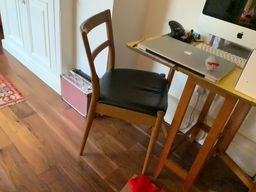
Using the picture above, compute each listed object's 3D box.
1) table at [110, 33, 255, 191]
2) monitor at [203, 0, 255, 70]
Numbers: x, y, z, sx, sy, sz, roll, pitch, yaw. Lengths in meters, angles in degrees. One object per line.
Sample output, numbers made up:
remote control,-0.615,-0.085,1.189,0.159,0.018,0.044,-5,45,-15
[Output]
table,0.450,0.170,1.220,0.860,0.720,0.600,33,39,29
monitor,0.610,-0.370,1.000,0.380,0.440,0.050,35,40,31
